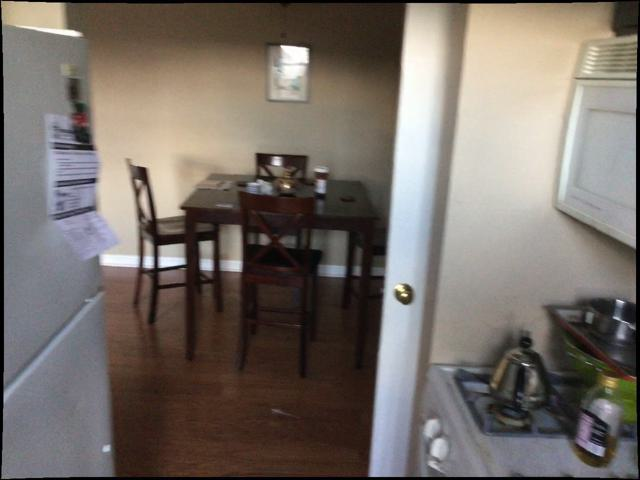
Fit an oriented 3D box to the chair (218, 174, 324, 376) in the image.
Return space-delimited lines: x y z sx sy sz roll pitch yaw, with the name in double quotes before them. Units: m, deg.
"chair" -0.259 0.160 3.100 0.489 0.962 0.530 2 11 -3
